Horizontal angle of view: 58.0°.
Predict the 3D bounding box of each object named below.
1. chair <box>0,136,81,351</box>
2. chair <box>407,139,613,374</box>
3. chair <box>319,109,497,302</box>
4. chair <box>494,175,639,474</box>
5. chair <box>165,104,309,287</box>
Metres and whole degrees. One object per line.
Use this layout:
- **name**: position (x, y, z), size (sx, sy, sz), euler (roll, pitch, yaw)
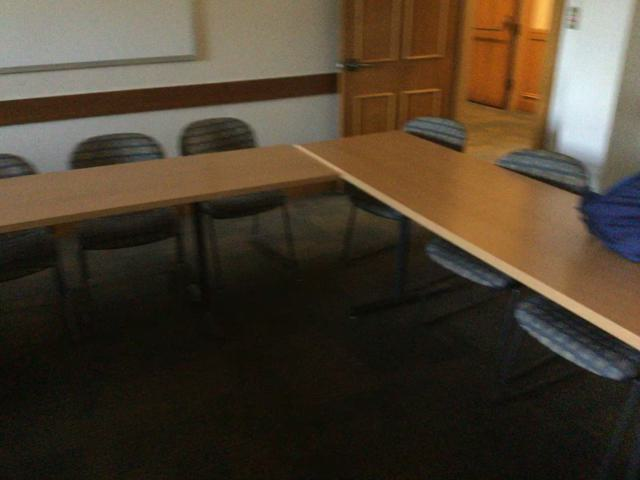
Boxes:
- **chair**: position (-1.370, 0.010, 2.400), size (0.540, 0.740, 0.530), euler (-12, 22, -21)
- **chair**: position (0.720, 0.020, 2.270), size (0.560, 0.690, 0.490), euler (-18, 25, -33)
- **chair**: position (0.420, -0.210, 2.880), size (0.630, 0.740, 0.570), euler (-12, 23, -21)
- **chair**: position (0.930, 0.210, 1.780), size (0.530, 0.650, 0.500), euler (-12, 23, -21)
- **chair**: position (-0.440, -0.270, 3.020), size (0.510, 0.750, 0.640), euler (-12, 22, -21)
